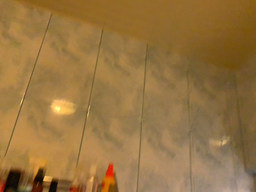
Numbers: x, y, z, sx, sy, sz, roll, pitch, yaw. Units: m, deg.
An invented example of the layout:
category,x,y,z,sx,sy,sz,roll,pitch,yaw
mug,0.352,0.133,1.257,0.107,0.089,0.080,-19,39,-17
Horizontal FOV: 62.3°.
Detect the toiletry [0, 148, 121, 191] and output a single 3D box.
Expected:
category,x,y,z,sx,sy,sz,roll,pitch,yaw
toiletry,-0.250,0.300,0.730,0.420,0.170,0.110,11,-26,-12
